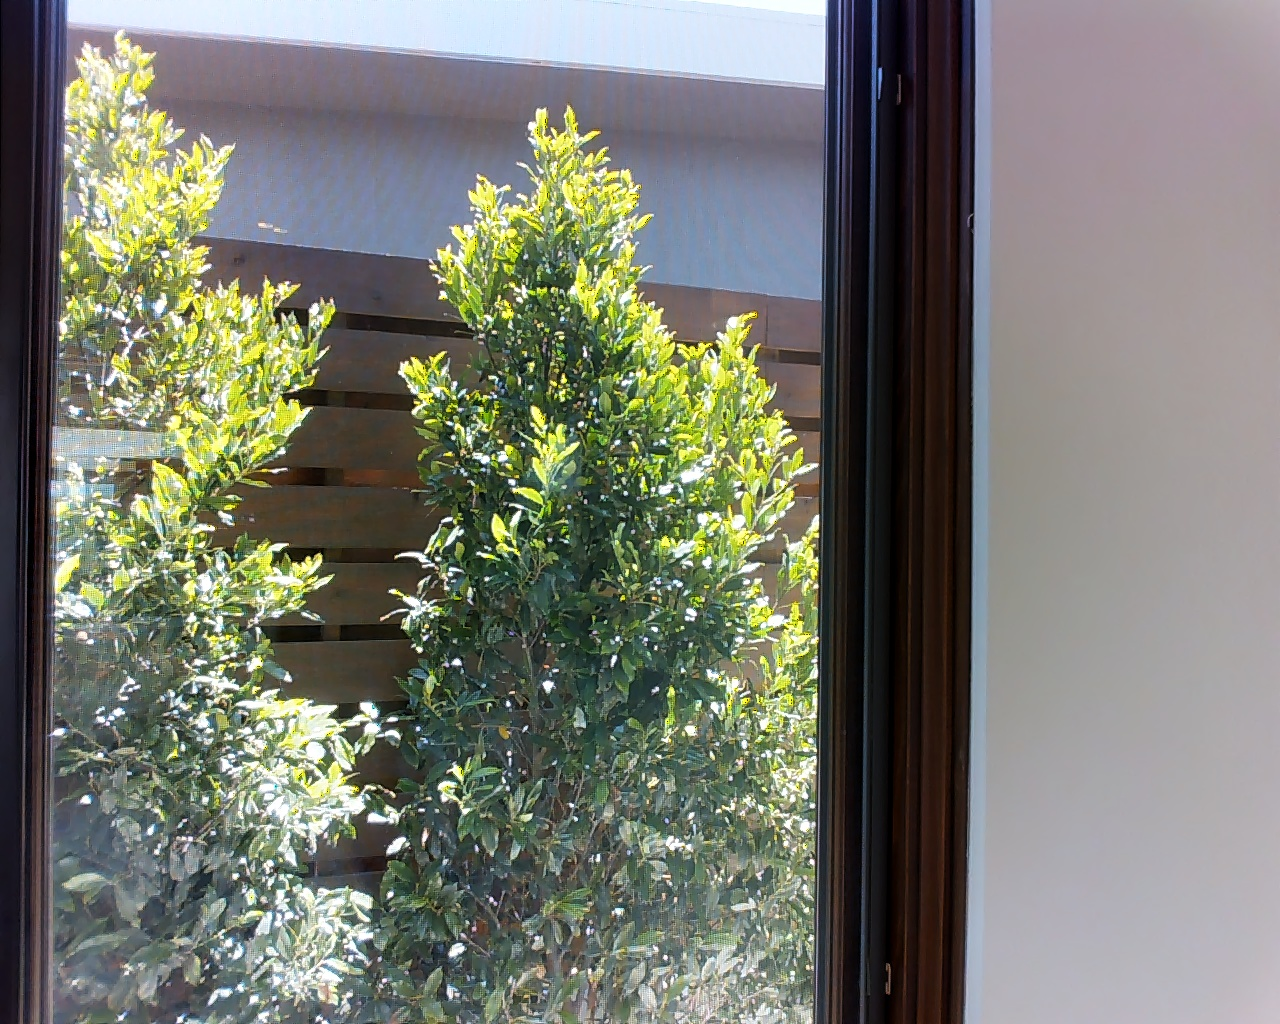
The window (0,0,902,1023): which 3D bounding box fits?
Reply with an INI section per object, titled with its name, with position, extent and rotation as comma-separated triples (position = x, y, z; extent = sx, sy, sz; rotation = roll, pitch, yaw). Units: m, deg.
[window]
position = -0.130, 0.010, 0.770
extent = 0.660, 1.450, 0.110
rotation = 1, -1, -21
